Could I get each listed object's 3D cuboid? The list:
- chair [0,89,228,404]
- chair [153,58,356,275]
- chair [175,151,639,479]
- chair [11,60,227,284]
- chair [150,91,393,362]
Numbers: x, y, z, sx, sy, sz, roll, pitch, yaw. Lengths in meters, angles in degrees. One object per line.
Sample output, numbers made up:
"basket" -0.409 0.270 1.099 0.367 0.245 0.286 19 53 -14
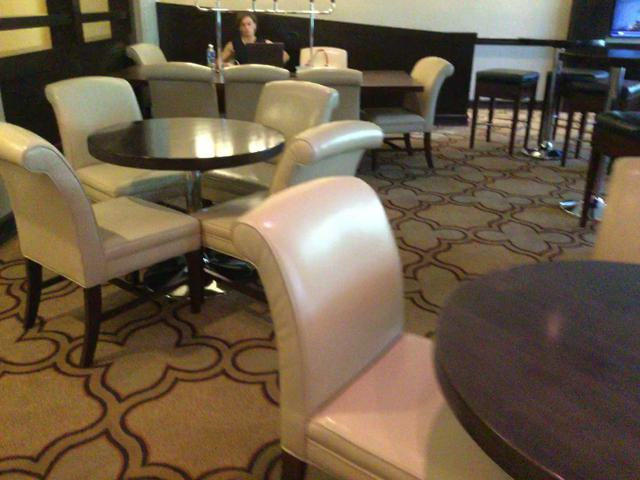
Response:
"chair" -0.920 -0.050 2.350 0.600 0.930 0.850 19 30 35
"chair" -0.330 -0.470 3.250 0.680 0.940 0.840 18 29 33
"chair" 0.220 0.370 1.410 0.840 0.940 0.610 14 27 27
"chair" -1.100 -0.440 3.230 0.920 0.950 0.660 21 31 38
"chair" -0.210 -0.120 2.530 0.830 0.880 0.560 19 30 35
